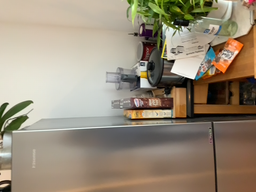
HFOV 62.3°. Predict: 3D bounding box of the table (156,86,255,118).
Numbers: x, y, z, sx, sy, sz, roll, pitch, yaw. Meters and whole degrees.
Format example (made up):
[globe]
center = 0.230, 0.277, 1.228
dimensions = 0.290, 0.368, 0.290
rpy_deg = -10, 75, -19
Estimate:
[table]
center = 0.720, 0.040, 1.680
dimensions = 0.500, 0.860, 0.200
rpy_deg = 176, 94, -74
